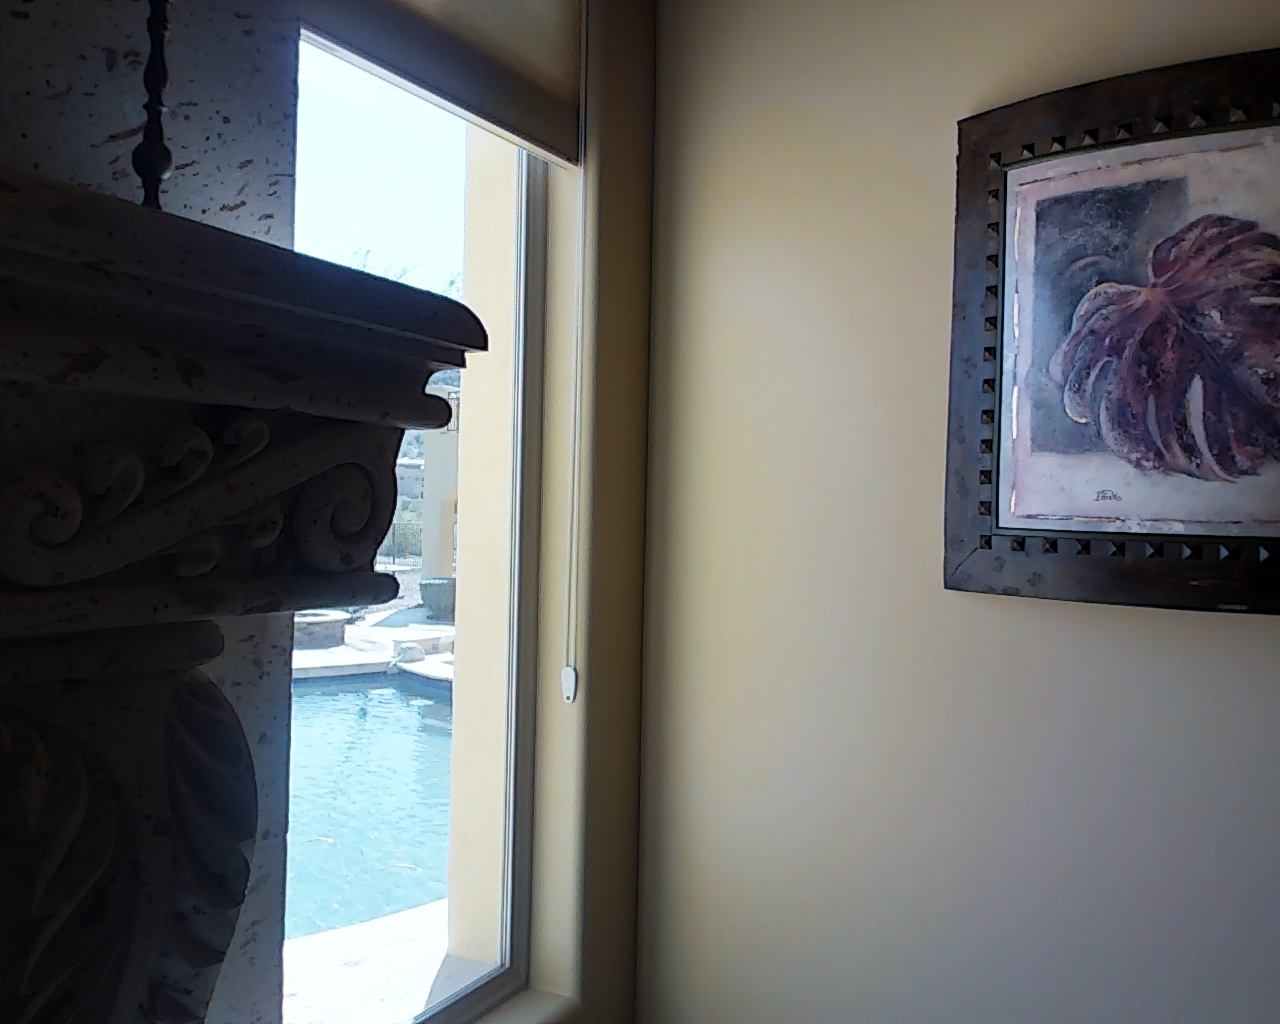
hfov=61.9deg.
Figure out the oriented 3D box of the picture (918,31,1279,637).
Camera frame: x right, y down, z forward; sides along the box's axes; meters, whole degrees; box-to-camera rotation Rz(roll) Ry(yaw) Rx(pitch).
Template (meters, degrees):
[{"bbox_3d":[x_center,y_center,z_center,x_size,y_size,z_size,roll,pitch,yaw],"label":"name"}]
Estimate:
[{"bbox_3d":[0.880,-0.260,1.660,0.830,0.880,0.160,1,-1,29],"label":"picture"}]
